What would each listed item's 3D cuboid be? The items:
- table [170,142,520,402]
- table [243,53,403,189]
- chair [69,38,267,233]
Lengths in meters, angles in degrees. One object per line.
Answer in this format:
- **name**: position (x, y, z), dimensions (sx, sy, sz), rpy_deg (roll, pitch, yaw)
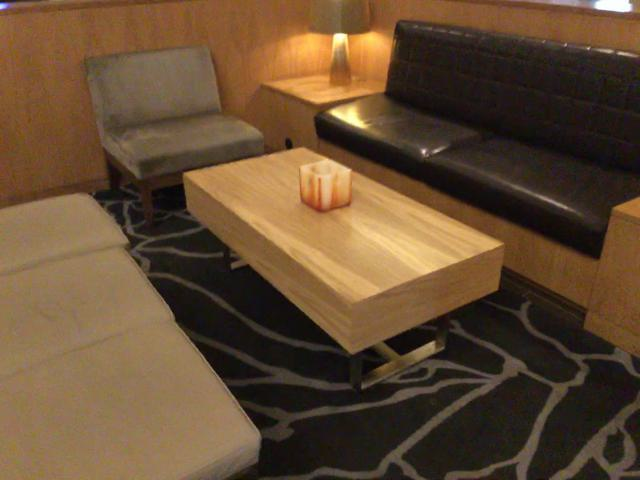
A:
- **table**: position (0.010, 0.000, 2.210), dimensions (0.660, 0.340, 1.240), rpy_deg (-18, 33, -33)
- **table**: position (0.000, -0.800, 3.710), dimensions (0.660, 0.610, 0.760), rpy_deg (-18, 32, -32)
- **chair**: position (-0.810, -0.620, 3.170), dimensions (0.760, 0.800, 0.700), rpy_deg (-18, 32, -32)
